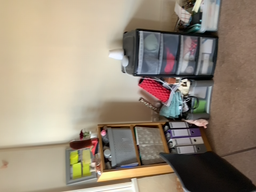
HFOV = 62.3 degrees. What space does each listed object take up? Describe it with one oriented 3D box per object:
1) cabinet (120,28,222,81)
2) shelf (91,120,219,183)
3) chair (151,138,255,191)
[{"bbox_3d":[0.370,-0.360,1.970,0.460,0.780,0.390,-155,66,-69],"label":"cabinet"},{"bbox_3d":[0.230,0.500,1.980,0.380,1.060,0.370,115,149,-51],"label":"shelf"},{"bbox_3d":[0.590,0.590,1.260,0.350,0.830,0.530,-153,64,-69],"label":"chair"}]
